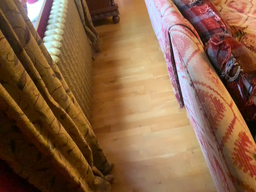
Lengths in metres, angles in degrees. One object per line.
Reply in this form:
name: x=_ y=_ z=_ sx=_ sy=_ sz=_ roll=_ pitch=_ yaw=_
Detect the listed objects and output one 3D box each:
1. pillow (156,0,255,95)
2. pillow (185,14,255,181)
pillow: x=0.490 y=-0.390 z=1.340 sx=0.500 sy=0.370 sz=0.590 roll=-11 pitch=48 yaw=1
pillow: x=0.600 y=0.060 z=1.170 sx=0.400 sy=0.820 sz=0.460 roll=-10 pitch=48 yaw=3
